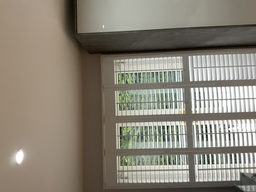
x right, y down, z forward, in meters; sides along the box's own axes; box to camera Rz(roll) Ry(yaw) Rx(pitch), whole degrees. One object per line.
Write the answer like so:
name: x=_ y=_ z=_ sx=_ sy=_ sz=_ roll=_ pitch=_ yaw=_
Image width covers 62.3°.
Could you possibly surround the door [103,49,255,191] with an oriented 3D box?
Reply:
door: x=0.760 y=0.300 z=2.500 sx=0.080 sy=2.080 sz=1.650 roll=58 pitch=-150 yaw=-87
